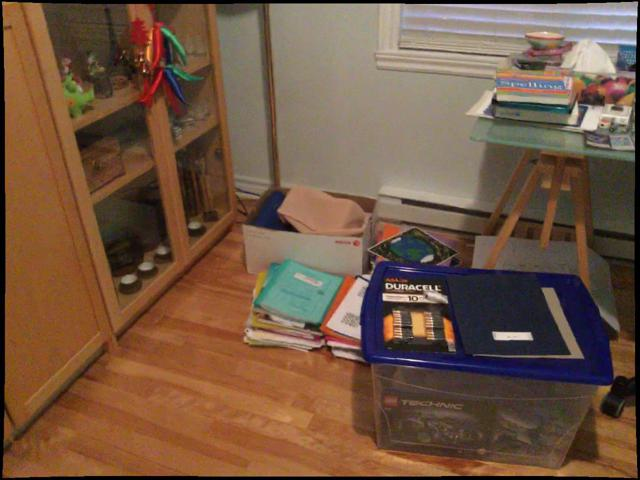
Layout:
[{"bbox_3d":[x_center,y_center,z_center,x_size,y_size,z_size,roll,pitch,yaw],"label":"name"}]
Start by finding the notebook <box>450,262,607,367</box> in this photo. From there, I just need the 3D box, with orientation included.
[{"bbox_3d":[0.490,0.170,1.420,0.300,0.040,0.330,2,33,5],"label":"notebook"}]
